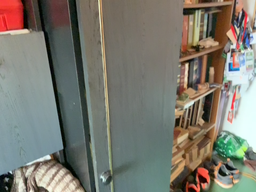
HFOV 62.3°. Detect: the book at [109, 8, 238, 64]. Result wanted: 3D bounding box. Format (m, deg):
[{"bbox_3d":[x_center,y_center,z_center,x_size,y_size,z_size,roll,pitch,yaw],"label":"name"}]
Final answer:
[{"bbox_3d":[0.330,-0.440,1.410,0.840,0.250,0.360,-19,29,-36],"label":"book"}]
